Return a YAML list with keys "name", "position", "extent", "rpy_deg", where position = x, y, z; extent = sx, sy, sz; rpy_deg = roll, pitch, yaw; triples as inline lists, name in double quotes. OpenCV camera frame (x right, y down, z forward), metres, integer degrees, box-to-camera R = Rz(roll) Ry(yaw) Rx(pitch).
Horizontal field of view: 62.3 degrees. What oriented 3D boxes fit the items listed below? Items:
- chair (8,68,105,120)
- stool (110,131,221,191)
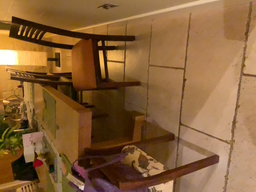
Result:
- name: "chair"
  position: [-0.800, -0.070, 2.450]
  extent: [0.450, 0.960, 0.500]
  rpy_deg: [9, 102, 57]
- name: "stool"
  position: [0.210, 0.640, 1.380]
  extent: [0.420, 0.520, 0.640]
  rpy_deg: [22, 112, 54]
